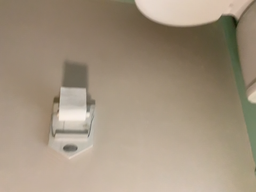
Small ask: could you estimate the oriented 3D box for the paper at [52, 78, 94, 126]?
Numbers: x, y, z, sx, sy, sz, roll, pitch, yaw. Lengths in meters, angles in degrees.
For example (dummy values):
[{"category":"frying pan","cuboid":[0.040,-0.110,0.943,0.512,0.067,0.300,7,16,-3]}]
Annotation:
[{"category":"paper","cuboid":[-0.230,0.030,0.900,0.150,0.170,0.100,5,157,-15]}]
